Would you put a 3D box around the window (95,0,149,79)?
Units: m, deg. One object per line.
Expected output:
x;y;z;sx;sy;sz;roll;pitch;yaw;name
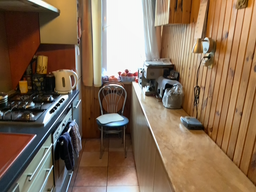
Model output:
-0.100;-0.920;3.010;0.720;1.340;0.170;1;16;-5;window
